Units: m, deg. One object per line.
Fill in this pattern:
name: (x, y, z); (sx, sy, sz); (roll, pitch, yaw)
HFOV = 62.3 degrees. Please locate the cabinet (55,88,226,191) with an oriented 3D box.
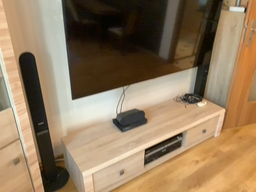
cabinet: (0.180, 0.340, 2.000); (1.510, 0.320, 0.580); (-17, 32, -30)

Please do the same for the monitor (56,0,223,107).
monitor: (0.230, -0.520, 1.620); (1.460, 0.840, 0.060); (-20, 32, -29)
